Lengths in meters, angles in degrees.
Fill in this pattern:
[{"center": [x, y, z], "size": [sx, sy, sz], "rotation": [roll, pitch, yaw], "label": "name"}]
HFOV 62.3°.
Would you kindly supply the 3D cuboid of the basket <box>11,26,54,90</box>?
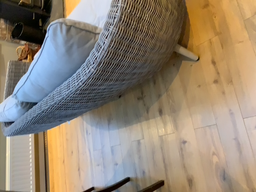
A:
[{"center": [-1.290, -0.480, 2.850], "size": [0.480, 0.380, 0.660], "rotation": [-23, 69, 45], "label": "basket"}]
